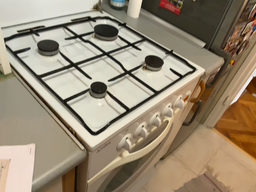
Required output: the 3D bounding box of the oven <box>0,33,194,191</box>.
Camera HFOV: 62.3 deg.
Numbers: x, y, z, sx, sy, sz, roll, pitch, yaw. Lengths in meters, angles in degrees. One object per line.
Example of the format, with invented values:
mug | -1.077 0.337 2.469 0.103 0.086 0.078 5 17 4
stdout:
oven | -0.200 0.210 1.040 0.510 0.720 0.610 -29 57 -37
